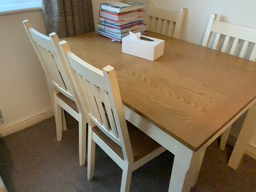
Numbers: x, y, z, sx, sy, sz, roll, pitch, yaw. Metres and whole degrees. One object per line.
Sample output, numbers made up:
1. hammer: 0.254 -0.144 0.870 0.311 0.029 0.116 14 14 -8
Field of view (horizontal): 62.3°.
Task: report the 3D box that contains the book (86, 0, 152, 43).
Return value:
1. book: -0.070 -0.560 1.540 0.310 0.200 0.350 -25 42 -34
